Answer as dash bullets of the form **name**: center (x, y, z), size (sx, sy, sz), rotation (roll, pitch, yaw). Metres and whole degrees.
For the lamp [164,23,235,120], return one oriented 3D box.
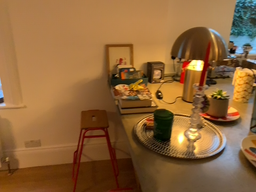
- **lamp**: center (0.440, -0.180, 1.420), size (0.240, 0.570, 0.350), rotation (-3, 22, -9)
